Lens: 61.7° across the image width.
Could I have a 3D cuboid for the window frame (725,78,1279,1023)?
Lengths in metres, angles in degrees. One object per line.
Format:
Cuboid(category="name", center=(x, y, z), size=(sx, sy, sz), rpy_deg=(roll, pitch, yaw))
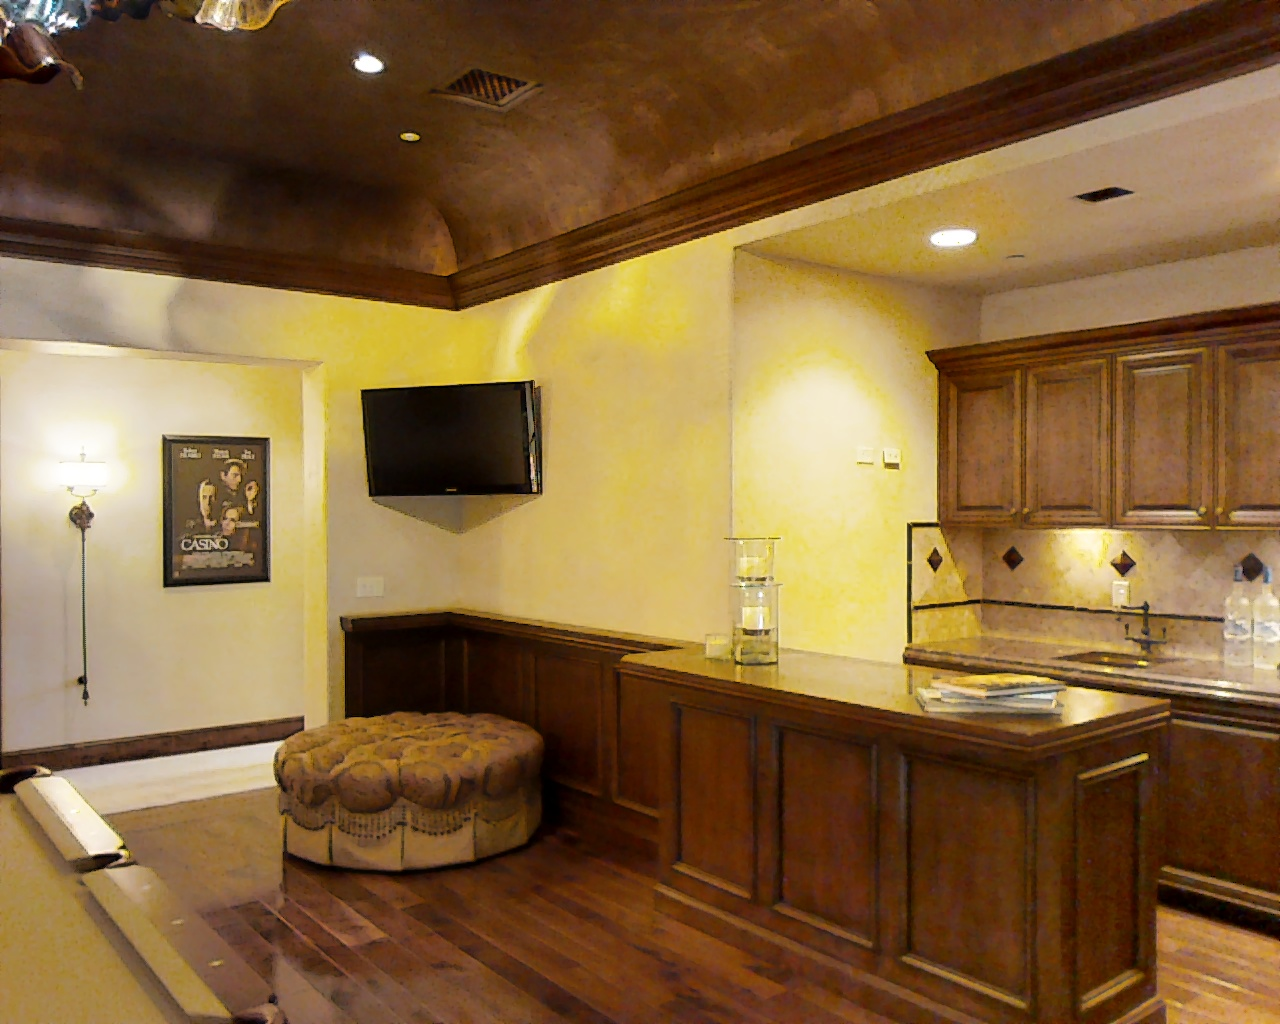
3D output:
Cuboid(category="window frame", center=(1.260, 0.200, 3.530), size=(0.160, 2.710, 2.700), rpy_deg=(-1, 1, -38))
